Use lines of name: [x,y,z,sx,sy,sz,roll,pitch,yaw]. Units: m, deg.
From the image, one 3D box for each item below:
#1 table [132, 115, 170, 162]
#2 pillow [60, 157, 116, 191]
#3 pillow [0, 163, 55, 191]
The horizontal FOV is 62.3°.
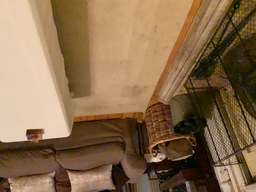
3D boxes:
table: [0.280,0.550,2.750,0.330,0.500,0.320,0,151,-14]
pillow: [-0.500,1.050,2.640,0.600,0.330,0.080,31,-168,-5]
pillow: [-1.200,1.090,2.540,0.530,0.320,0.120,28,-172,-2]
